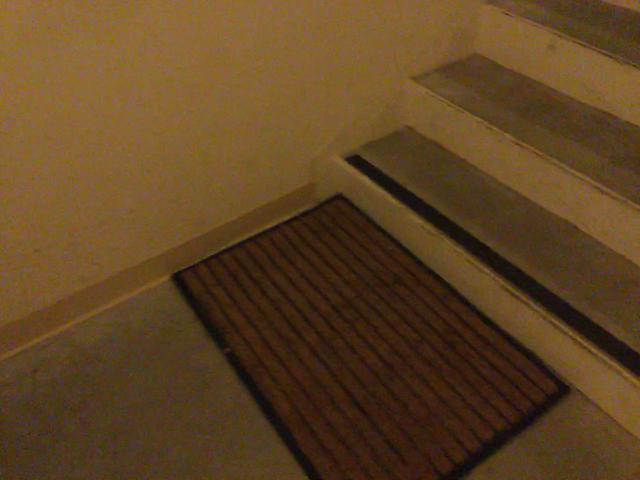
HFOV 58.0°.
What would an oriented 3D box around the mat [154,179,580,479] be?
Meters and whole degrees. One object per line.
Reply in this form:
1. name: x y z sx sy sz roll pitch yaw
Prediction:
1. mat: 0.060 0.230 1.440 0.610 0.100 0.880 -32 49 -20
